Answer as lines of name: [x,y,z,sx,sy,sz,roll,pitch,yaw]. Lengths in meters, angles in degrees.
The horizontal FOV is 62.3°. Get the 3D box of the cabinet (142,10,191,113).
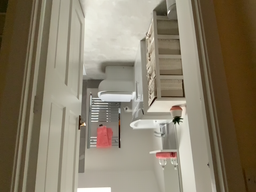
cabinet: [0.320,-0.300,1.960,0.280,0.830,0.430,0,163,-5]
